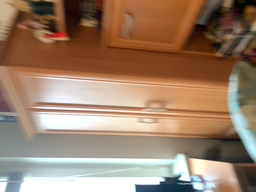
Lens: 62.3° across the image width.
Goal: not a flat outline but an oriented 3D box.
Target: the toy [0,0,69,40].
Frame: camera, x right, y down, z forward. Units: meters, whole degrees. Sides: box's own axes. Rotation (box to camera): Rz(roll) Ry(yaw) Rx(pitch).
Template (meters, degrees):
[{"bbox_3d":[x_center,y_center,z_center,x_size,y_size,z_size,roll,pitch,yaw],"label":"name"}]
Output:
[{"bbox_3d":[-0.420,-0.540,0.950,0.470,0.250,0.280,108,163,-55],"label":"toy"}]
